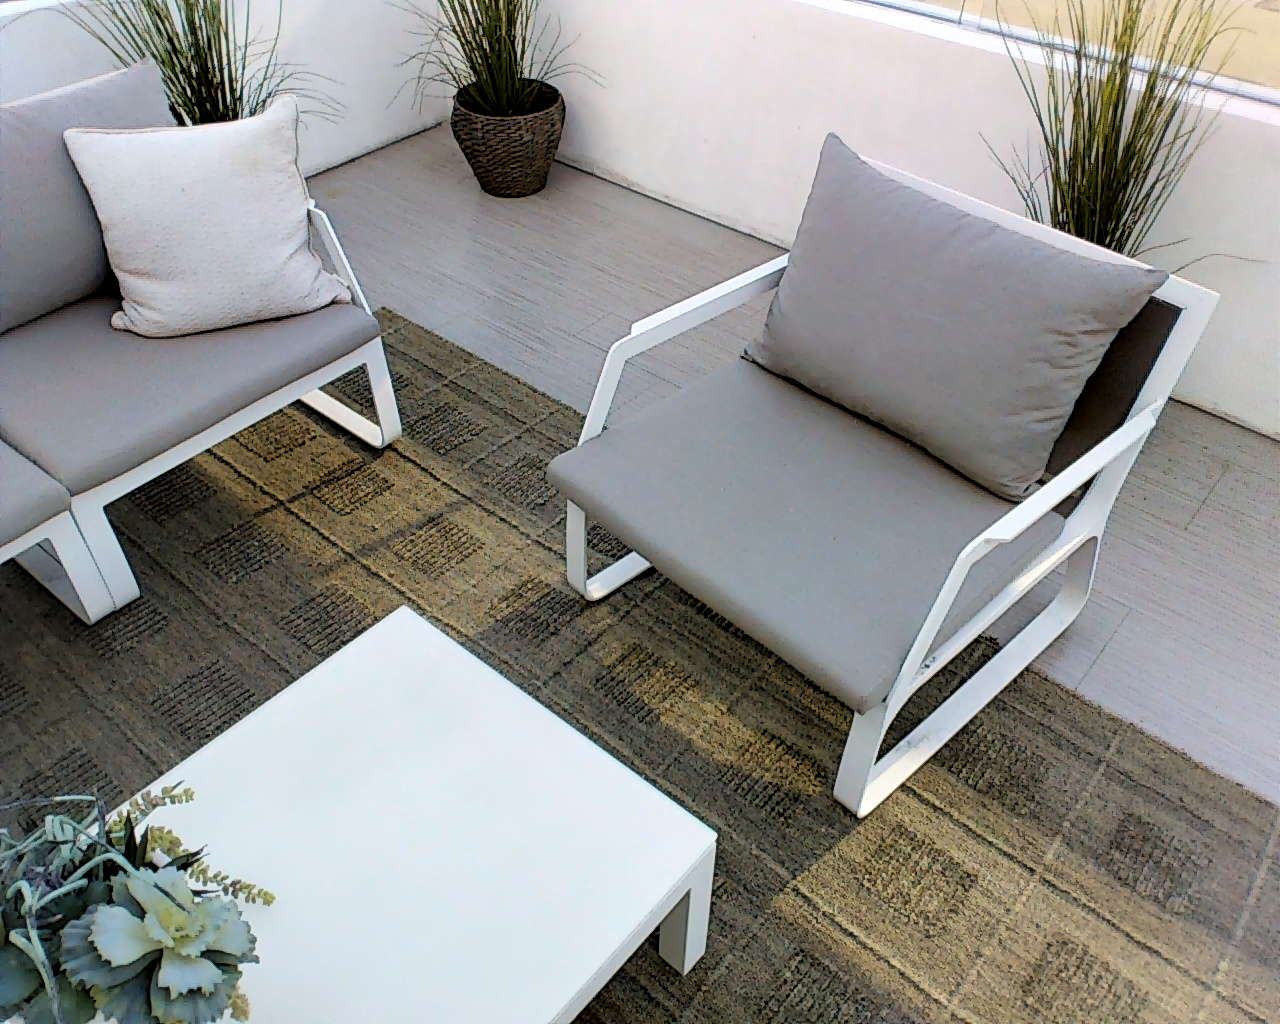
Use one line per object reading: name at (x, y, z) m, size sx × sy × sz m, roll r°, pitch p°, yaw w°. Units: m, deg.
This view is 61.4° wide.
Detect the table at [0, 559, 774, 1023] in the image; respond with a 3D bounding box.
table at (-0.520, 0.680, 1.370) m, size 0.710 × 0.320 × 1.320 m, roll 30°, pitch 49°, yaw 29°
